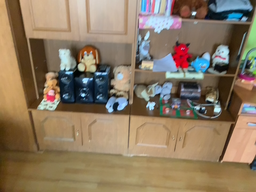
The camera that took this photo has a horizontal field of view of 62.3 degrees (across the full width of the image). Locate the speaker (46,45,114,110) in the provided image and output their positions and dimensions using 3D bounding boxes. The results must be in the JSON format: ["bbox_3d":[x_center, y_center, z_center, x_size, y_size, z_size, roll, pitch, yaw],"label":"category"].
[{"bbox_3d":[-0.410,-0.170,1.970,0.540,0.520,0.250,3,28,0],"label":"speaker"}]
